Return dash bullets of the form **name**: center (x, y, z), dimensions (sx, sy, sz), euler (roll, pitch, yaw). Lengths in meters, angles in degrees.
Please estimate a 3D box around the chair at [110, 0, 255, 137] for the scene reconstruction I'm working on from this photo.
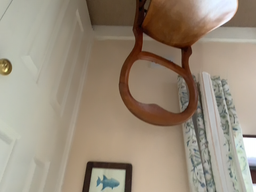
- **chair**: center (0.230, -0.310, 1.020), dimensions (0.450, 0.800, 0.550), euler (12, 147, -13)
